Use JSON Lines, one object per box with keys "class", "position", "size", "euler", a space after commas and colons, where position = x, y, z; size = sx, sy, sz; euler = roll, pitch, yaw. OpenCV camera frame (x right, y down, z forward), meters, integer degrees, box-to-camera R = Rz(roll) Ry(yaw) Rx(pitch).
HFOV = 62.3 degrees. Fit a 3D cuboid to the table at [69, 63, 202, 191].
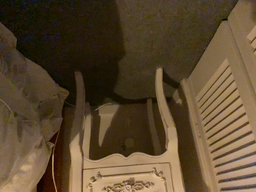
{"class": "table", "position": [0.000, 0.230, 0.930], "size": [0.430, 0.630, 0.370], "euler": [-3, 155, -6]}
